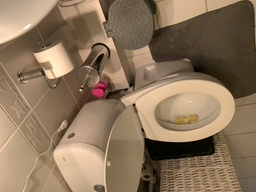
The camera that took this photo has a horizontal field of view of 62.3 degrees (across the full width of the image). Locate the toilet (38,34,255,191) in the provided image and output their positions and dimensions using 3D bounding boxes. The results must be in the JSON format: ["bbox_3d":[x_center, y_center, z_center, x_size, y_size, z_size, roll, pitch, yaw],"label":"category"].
[{"bbox_3d":[0.120,0.110,1.040,0.650,0.800,0.420,-11,122,14],"label":"toilet"}]
